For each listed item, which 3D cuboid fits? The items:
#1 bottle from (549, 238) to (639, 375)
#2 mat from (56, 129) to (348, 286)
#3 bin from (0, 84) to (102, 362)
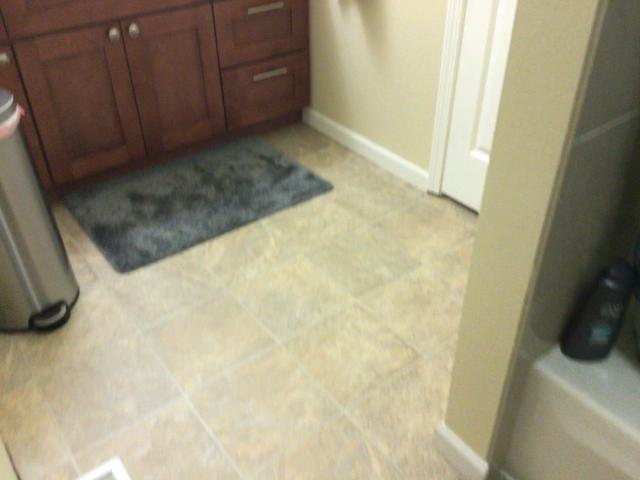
[{"bbox_3d":[0.540,0.130,1.120,0.110,0.230,0.090,-24,41,-28],"label":"bottle"},{"bbox_3d":[-0.470,-0.190,2.360,0.990,0.070,0.630,-24,41,-28],"label":"mat"},{"bbox_3d":[-0.930,-0.040,1.650,0.350,0.660,0.340,-24,41,-29],"label":"bin"}]
